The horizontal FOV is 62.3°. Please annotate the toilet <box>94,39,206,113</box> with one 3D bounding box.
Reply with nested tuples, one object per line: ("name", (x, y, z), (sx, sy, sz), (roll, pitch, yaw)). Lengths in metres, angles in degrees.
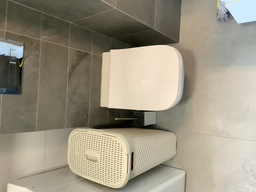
("toilet", (0.140, -0.090, 1.340), (0.540, 0.440, 0.350), (2, 89, 38))
